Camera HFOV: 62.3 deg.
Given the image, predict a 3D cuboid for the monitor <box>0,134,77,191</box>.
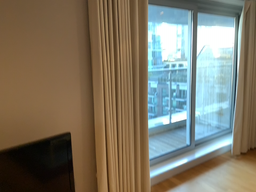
[{"bbox_3d":[-0.680,0.620,1.340,0.740,0.580,0.040,-11,12,-40],"label":"monitor"}]
